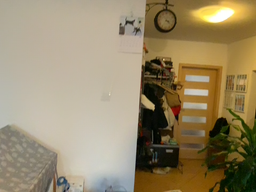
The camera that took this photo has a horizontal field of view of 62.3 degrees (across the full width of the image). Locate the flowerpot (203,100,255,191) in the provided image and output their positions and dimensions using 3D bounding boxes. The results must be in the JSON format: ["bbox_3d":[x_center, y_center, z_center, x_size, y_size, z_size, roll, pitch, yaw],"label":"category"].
[{"bbox_3d":[1.350,0.880,2.340,0.660,1.560,0.820,4,4,-1],"label":"flowerpot"}]
